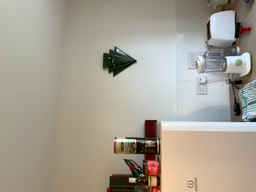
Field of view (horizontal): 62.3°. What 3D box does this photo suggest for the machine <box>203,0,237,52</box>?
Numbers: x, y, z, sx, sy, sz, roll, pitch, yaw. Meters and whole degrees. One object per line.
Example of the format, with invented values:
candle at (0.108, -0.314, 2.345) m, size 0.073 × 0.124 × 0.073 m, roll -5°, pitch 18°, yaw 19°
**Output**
machine at (0.710, -0.540, 1.660) m, size 0.230 × 0.160 × 0.320 m, roll 72°, pitch -161°, yaw -79°
